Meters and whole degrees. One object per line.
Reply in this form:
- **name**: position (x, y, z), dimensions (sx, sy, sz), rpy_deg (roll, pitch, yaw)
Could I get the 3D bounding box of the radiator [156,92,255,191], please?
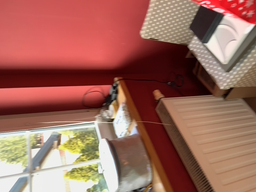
- **radiator**: position (0.640, 0.350, 1.050), dimensions (0.130, 0.710, 0.870), rpy_deg (111, 145, -42)
